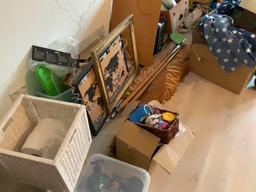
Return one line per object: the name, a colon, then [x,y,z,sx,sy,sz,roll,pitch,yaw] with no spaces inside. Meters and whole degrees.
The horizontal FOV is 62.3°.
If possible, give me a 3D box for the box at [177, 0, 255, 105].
box: [0.990,-0.560,1.950,0.640,0.820,0.750,29,51,25]
